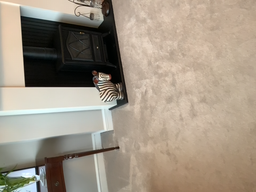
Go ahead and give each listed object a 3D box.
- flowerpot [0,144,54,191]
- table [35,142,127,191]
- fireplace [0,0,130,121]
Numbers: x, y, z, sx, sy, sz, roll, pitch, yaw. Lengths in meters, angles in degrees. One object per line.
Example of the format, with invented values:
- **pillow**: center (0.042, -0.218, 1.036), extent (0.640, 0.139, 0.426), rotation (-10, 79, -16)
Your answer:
- **flowerpot**: center (-1.010, 0.670, 1.800), extent (0.520, 0.570, 0.390), rotation (-26, 71, 53)
- **table**: center (-0.450, 0.970, 2.110), extent (0.490, 0.730, 0.840), rotation (-28, 70, 53)
- **fireplace**: center (-0.670, -0.460, 2.010), extent (0.440, 1.100, 1.220), rotation (-28, 70, 53)
